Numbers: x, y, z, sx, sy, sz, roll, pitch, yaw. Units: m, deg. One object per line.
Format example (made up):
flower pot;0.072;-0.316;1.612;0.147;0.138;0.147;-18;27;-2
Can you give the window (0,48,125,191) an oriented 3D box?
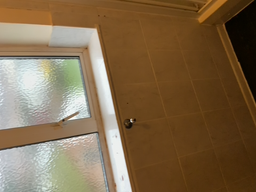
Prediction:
window;-0.510;0.180;0.990;0.050;0.900;0.900;-41;59;56
